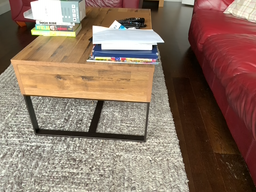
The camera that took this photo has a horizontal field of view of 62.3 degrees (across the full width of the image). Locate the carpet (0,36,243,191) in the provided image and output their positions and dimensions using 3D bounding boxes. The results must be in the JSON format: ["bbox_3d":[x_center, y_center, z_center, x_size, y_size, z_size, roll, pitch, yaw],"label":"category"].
[{"bbox_3d":[-0.270,0.090,1.330,1.560,0.050,2.310,3,36,2],"label":"carpet"}]
